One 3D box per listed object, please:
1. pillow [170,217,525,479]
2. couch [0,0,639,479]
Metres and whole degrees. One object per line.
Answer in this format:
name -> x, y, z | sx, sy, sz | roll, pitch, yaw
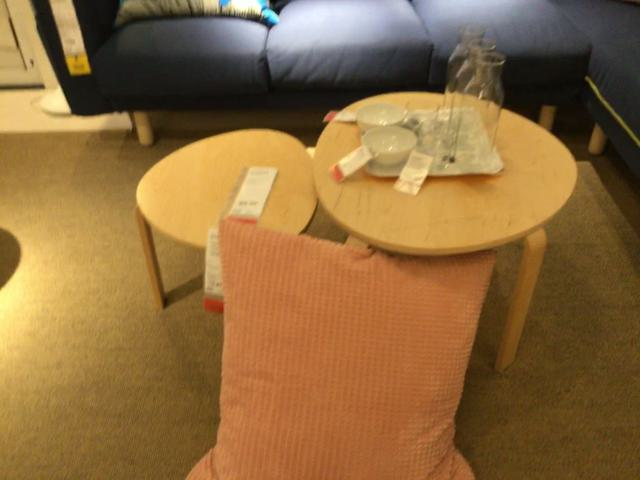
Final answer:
pillow -> 0.060, 0.260, 1.220 | 0.650, 0.550, 0.210 | 4, -6, 5
couch -> 0.420, -0.610, 1.820 | 2.920, 1.020, 2.320 | 1, 37, 1
